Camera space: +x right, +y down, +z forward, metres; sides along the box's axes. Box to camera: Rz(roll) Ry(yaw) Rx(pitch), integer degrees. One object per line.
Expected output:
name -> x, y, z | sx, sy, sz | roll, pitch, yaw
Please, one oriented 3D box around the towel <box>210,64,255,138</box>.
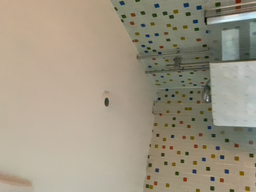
towel -> 0.620, 0.040, 1.050 | 0.030, 0.380, 0.410 | -54, -43, -51
